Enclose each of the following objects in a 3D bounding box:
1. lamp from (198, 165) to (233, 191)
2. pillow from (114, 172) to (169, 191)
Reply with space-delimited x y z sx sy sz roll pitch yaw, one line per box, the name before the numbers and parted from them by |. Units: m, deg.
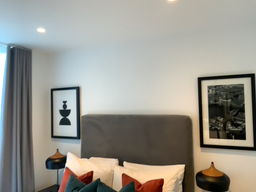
lamp | 0.800 0.900 1.910 0.270 0.460 0.270 -3 -4 26
pillow | 0.120 0.860 1.800 0.430 0.330 0.150 -3 6 27
